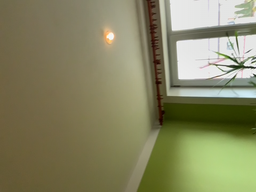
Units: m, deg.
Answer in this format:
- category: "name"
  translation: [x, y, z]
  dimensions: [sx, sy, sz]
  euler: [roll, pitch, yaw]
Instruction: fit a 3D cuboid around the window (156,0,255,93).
- category: "window"
  translation: [1.150, -0.750, 2.420]
  dimensions: [0.170, 1.560, 1.530]
  euler: [-56, -39, -54]
